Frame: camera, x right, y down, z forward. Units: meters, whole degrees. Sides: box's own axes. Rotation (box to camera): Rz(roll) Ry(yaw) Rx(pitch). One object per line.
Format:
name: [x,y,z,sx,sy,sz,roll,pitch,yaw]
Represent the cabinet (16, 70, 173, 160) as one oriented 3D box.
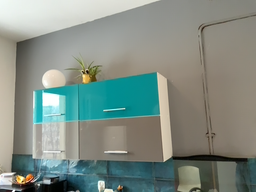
cabinet: [-0.420,0.240,2.160,1.640,0.710,0.330,-6,-9,24]
